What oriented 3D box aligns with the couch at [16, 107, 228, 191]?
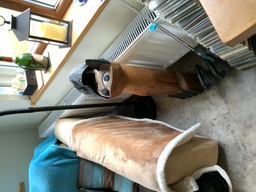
[{"bbox_3d":[-0.100,0.680,1.420,1.050,0.900,1.050,8,96,46],"label":"couch"}]
